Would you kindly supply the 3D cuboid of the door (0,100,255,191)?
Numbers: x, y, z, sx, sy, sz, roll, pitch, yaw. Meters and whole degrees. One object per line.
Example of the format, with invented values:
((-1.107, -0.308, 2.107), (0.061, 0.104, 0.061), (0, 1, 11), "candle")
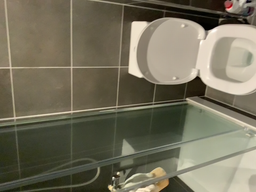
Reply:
((-0.150, 0.230, 1.050), (0.580, 2.020, 0.080), (32, 122, 55), "door")
